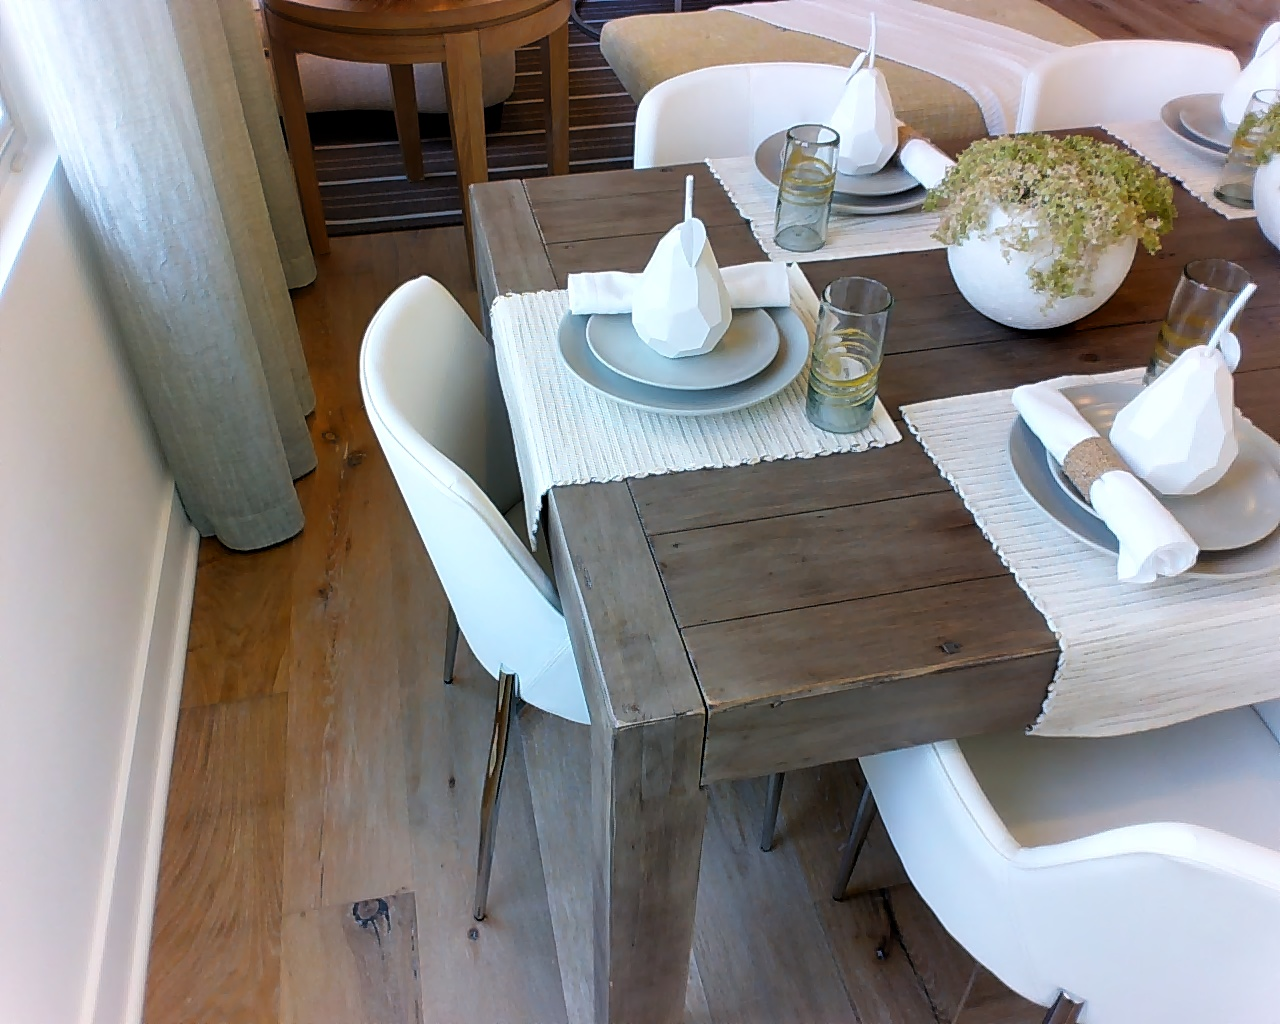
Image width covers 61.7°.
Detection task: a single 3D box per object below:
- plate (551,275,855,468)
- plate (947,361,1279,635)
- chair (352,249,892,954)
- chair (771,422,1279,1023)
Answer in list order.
[{"bbox_3d":[0.060,-0.170,1.220,0.280,0.050,0.270,-8,42,-10],"label":"plate"},{"bbox_3d":[0.500,-0.030,1.070,0.260,0.050,0.320,-8,41,-10],"label":"plate"},{"bbox_3d":[-0.060,0.130,1.460,0.520,0.770,0.490,-8,41,-10],"label":"chair"},{"bbox_3d":[0.550,0.400,1.170,0.600,0.780,0.550,-8,41,-10],"label":"chair"}]
